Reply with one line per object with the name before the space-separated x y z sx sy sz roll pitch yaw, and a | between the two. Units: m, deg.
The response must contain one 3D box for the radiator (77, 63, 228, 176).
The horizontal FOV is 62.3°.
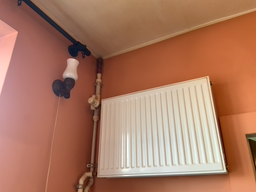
radiator | 0.100 0.170 1.270 0.810 0.550 0.150 -11 -27 22
